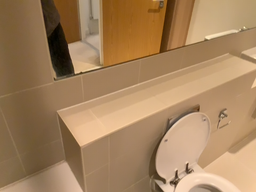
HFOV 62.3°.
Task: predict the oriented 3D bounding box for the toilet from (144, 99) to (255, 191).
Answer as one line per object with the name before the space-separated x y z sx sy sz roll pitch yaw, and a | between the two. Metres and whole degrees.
toilet | 0.400 0.510 1.110 0.380 0.770 0.490 -22 44 -31
